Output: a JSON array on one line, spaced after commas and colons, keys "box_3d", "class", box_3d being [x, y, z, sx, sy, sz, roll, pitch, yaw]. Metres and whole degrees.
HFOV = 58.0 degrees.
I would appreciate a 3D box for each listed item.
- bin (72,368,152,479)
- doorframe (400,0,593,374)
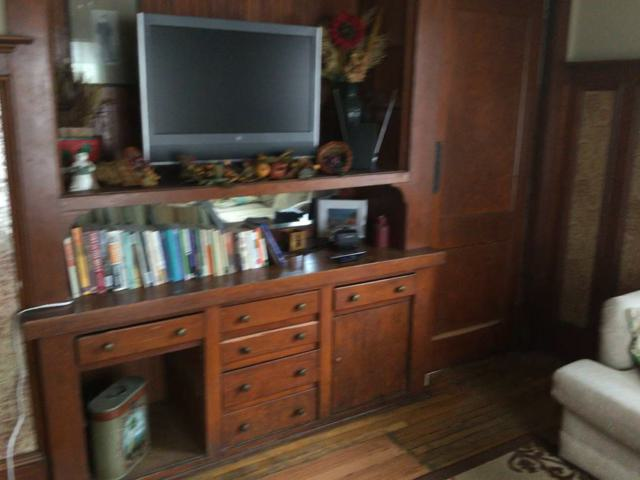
[{"box_3d": [-0.820, 0.720, 2.300, 0.190, 0.310, 0.270, 6, 11, 9], "class": "bin"}, {"box_3d": [0.900, -0.310, 2.970, 0.860, 1.920, 0.180, -2, 12, -30], "class": "doorframe"}]
